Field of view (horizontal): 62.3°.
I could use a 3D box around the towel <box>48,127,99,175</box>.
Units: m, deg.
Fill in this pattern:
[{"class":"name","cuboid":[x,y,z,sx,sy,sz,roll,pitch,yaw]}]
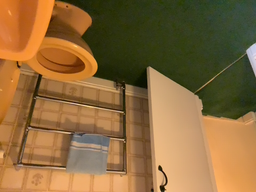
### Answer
[{"class":"towel","cuboid":[-0.390,0.410,1.570,0.330,0.310,0.080,12,147,-21]}]
